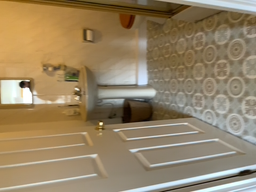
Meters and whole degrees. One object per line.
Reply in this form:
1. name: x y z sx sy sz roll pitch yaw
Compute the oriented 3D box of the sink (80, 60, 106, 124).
1. sink: -0.400 -0.050 2.350 0.390 0.210 0.650 -172 82 -69
